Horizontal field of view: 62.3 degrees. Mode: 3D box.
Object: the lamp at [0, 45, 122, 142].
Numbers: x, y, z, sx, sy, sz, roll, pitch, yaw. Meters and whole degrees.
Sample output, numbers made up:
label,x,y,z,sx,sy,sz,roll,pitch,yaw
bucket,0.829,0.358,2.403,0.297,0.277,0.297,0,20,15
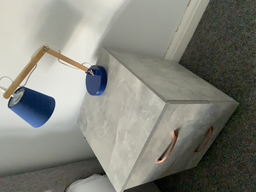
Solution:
label,x,y,z,sx,sy,sz,roll,pitch,yaw
lamp,-0.240,-0.010,0.750,0.190,0.330,0.230,46,123,40
